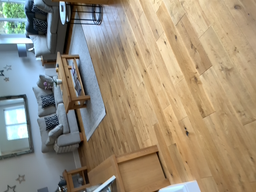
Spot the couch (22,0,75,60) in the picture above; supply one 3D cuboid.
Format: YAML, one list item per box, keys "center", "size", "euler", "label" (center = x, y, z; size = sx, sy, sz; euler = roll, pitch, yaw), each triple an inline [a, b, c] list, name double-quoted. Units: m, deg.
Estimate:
- center: [-2.100, -1.970, 5.380]
  size: [2.240, 0.960, 0.990]
  euler: [-49, 54, 56]
  label: "couch"

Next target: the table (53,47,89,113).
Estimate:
- center: [-1.310, -0.360, 4.750]
  size: [0.680, 0.470, 1.270]
  euler: [-51, 52, 55]
  label: "table"

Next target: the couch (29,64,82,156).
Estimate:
- center: [-2.100, 0.350, 5.960]
  size: [1.040, 0.950, 2.250]
  euler: [-51, 52, 55]
  label: "couch"
